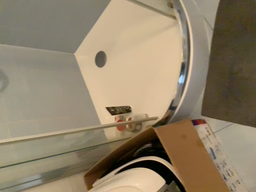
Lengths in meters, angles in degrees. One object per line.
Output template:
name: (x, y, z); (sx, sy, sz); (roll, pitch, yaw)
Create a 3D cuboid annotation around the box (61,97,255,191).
box: (0.130, 0.410, 1.080); (0.690, 0.560, 0.510); (-40, 64, 37)
